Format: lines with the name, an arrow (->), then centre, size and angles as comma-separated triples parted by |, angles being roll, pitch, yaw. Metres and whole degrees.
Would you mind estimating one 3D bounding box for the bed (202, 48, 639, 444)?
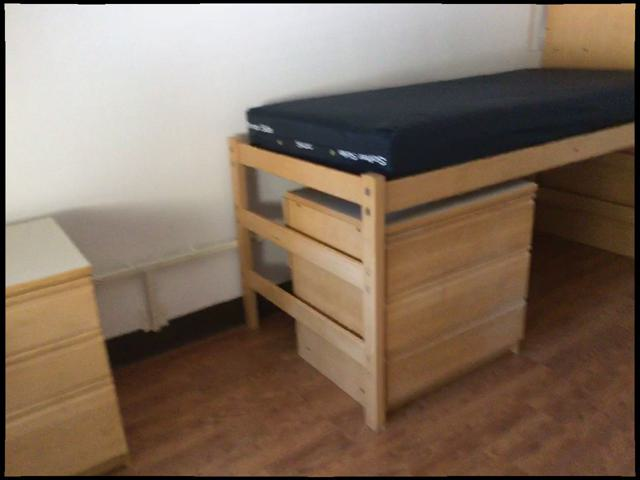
bed -> 0.778, -0.230, 2.770 | 2.267, 1.072, 1.130 | -16, 26, -27
